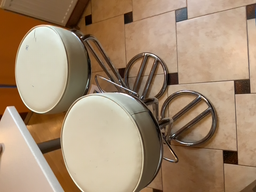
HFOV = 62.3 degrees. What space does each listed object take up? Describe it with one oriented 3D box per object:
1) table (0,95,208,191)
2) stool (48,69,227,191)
[{"bbox_3d":[-0.120,0.480,1.180,0.910,0.850,0.430,47,116,22],"label":"table"},{"bbox_3d":[0.140,0.140,1.000,0.340,0.850,0.340,46,115,23],"label":"stool"}]
